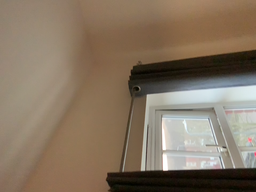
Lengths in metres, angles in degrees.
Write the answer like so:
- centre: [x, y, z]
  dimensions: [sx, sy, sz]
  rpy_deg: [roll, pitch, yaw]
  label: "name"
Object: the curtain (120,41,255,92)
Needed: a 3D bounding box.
- centre: [0.750, -0.250, 1.590]
  dimensions: [0.440, 1.580, 0.110]
  rpy_deg: [-79, -18, -53]
  label: "curtain"
